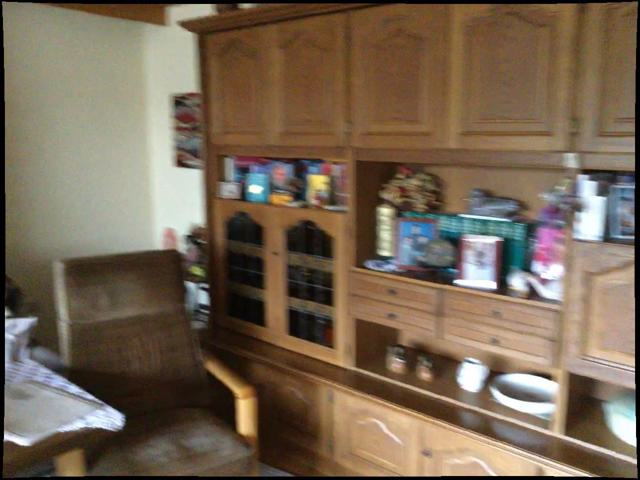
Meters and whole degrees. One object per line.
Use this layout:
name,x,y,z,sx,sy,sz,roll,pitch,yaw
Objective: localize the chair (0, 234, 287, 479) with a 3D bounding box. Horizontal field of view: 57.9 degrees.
chair,-0.719,0.591,2.230,0.879,1.011,0.930,-5,13,-26
